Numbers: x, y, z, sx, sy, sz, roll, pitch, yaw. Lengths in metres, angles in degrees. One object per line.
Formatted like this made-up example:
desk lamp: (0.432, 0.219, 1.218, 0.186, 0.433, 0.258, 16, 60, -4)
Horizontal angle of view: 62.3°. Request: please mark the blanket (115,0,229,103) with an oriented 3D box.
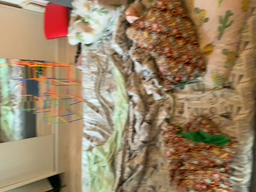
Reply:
blanket: (0.200, -0.300, 1.160, 0.580, 0.170, 0.580, 11, 100, 44)
